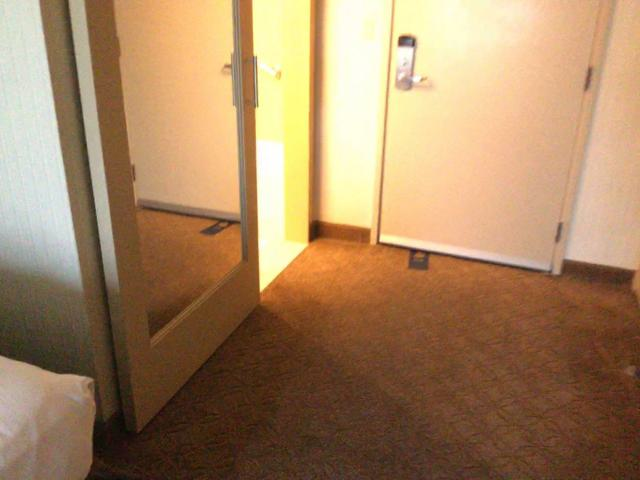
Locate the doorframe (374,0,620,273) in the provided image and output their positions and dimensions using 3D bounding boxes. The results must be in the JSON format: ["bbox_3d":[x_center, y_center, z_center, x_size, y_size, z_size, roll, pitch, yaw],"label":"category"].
[{"bbox_3d":[0.780,-1.060,2.580,1.000,2.450,0.060,8,22,19],"label":"doorframe"}]
